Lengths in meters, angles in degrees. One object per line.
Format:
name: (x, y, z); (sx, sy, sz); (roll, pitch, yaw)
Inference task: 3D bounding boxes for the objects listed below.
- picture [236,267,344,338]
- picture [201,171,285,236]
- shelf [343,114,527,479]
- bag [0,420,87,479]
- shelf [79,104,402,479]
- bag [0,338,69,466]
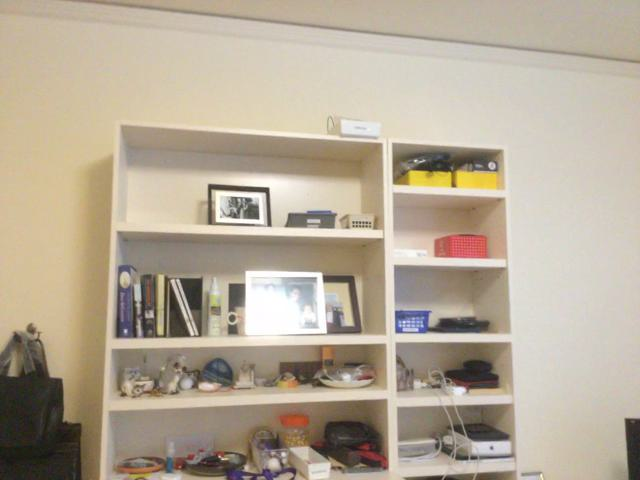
picture: (-0.110, 0.210, 1.960); (0.320, 0.220, 0.270); (1, -7, -14)
picture: (-0.270, -0.120, 1.990); (0.260, 0.180, 0.220); (1, -7, -14)
shelf: (0.390, 0.330, 2.070); (0.520, 1.460, 0.340); (1, -7, -14)
bag: (-0.930, 0.710, 1.820); (0.340, 0.240, 0.120); (1, -7, -14)
shelf: (-0.250, 0.220, 1.920); (0.940, 1.190, 0.370); (1, -7, -14)
bag: (-0.980, 0.490, 1.780); (0.340, 0.350, 0.210); (1, -7, -14)
